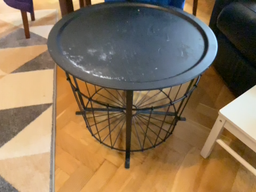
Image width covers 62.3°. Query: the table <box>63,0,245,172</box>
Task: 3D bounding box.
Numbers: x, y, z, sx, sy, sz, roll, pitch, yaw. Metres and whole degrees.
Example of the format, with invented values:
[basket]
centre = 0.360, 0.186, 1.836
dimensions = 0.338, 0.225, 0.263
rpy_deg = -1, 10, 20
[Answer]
[table]
centre = 0.030, -0.070, 0.950
dimensions = 0.530, 0.470, 0.550
rpy_deg = -7, 47, -9
